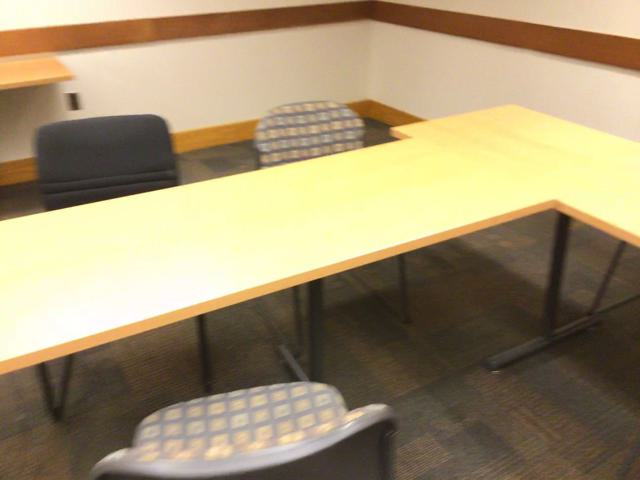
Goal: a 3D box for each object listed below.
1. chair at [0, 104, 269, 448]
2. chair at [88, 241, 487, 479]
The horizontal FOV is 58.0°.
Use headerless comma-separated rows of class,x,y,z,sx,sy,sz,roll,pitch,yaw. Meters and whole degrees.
chair,-0.610,0.040,1.830,0.650,0.790,0.570,24,29,39
chair,-0.120,0.440,1.110,0.520,0.650,0.590,-6,25,-18
